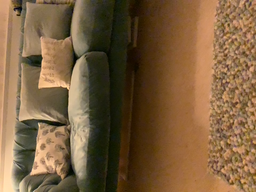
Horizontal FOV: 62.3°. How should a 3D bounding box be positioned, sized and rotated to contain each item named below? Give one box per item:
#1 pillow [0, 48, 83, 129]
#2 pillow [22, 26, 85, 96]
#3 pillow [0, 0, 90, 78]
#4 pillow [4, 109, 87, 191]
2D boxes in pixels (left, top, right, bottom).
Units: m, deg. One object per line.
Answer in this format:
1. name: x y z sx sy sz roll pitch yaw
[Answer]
1. pillow: -0.690 -0.050 1.720 0.460 0.470 0.220 -65 7 -10
2. pillow: -0.540 -0.250 1.570 0.420 0.250 0.150 -62 6 -1
3. pillow: -0.650 -0.500 1.700 0.550 0.460 0.210 -63 5 7
4. pillow: -0.620 0.410 1.650 0.450 0.390 0.130 -49 -5 -17
